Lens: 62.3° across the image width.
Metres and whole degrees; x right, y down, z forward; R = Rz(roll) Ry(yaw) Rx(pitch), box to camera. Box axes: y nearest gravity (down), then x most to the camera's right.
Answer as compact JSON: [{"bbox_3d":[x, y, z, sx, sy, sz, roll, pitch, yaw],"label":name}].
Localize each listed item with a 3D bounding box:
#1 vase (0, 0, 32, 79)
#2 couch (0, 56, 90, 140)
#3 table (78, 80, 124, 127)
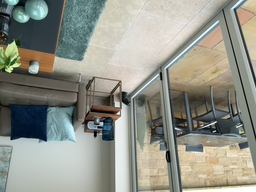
[{"bbox_3d":[-0.770,-0.360,1.350,0.230,0.420,0.220,9,155,-24],"label":"vase"},{"bbox_3d":[-1.990,-0.010,2.470,2.910,0.750,0.830,8,156,-22],"label":"couch"},{"bbox_3d":[-0.430,0.140,3.270,0.530,0.500,0.600,8,156,-22],"label":"table"}]
